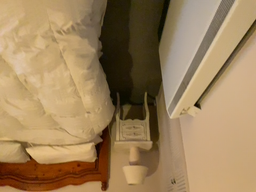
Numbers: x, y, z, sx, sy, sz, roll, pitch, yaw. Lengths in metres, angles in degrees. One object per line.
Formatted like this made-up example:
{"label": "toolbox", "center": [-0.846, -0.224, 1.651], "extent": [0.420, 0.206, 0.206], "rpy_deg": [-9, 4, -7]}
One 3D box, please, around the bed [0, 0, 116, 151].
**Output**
{"label": "bed", "center": [-0.980, -0.120, 1.760], "extent": [1.650, 0.610, 2.170], "rpy_deg": [-1, 152, -1]}
